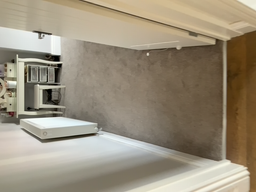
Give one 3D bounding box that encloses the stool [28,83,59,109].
[{"bbox_3d":[-1.460,0.000,3.680,0.320,0.420,0.420,7,95,53],"label":"stool"}]
